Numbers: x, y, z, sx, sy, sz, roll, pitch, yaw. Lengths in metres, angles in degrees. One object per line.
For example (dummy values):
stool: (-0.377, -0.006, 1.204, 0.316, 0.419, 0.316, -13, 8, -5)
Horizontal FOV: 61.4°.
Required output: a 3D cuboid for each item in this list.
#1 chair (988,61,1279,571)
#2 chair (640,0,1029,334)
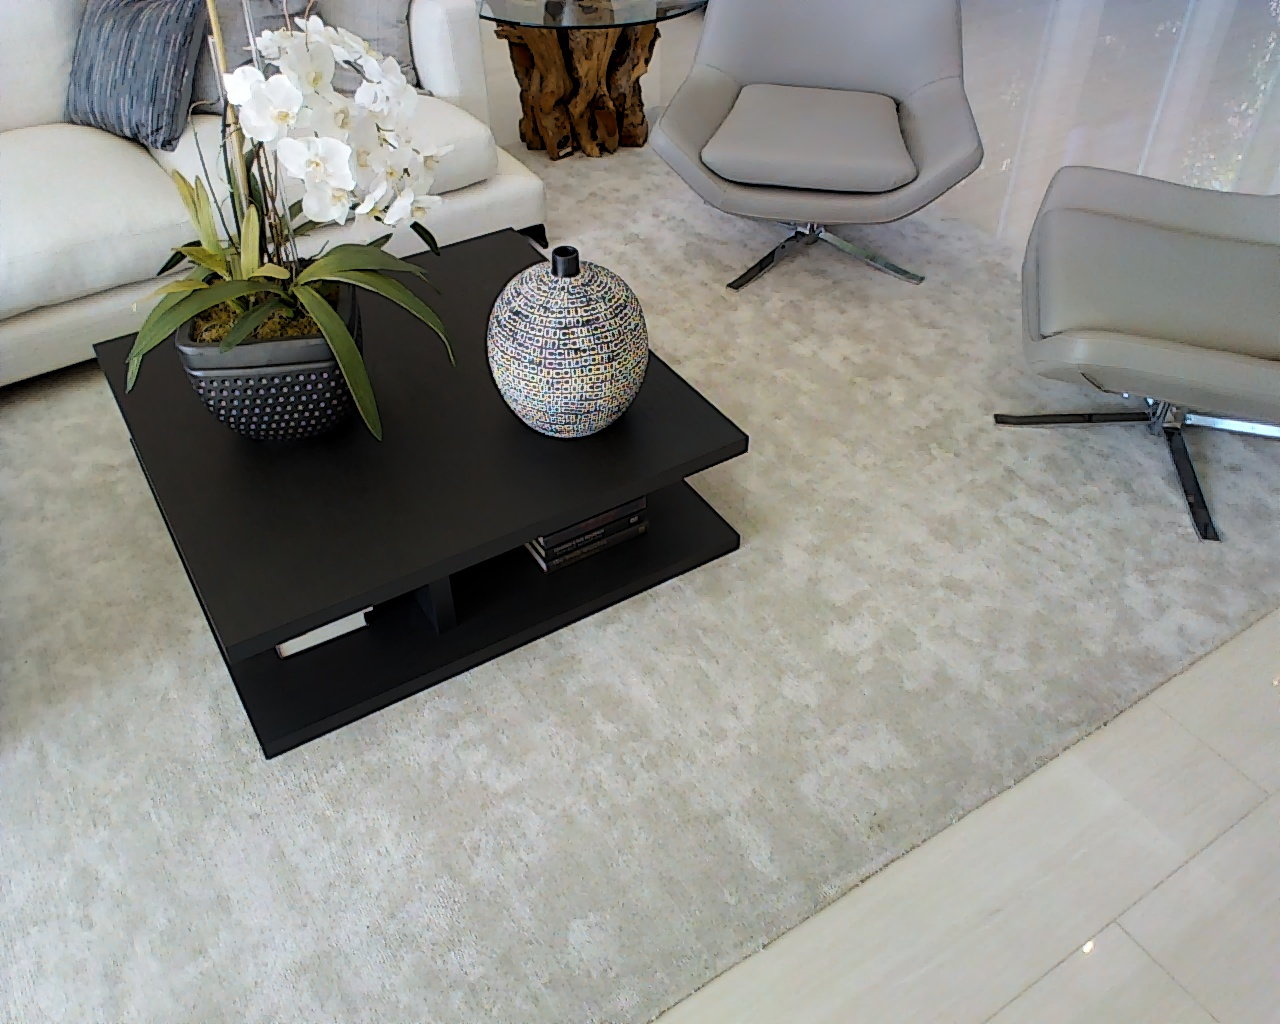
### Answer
chair: (1.260, -0.440, 2.320, 0.840, 0.680, 0.880, 8, 43, 10)
chair: (0.530, -1.080, 3.050, 0.900, 0.710, 0.840, 8, 43, 9)
